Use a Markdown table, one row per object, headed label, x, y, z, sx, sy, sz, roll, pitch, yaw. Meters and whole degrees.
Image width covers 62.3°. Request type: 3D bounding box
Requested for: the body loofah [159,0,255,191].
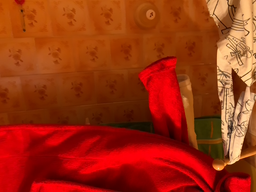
| label | x | y | z | sx | sy | sz | roll | pitch | yaw |
| --- | --- | --- | --- | --- | --- | --- | --- | --- | --- |
| body loofah | 0.260 | -0.130 | 0.570 | 0.230 | 0.690 | 0.330 | -5 | -163 | -14 |
